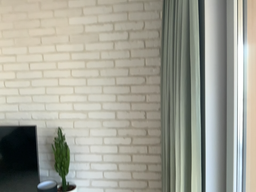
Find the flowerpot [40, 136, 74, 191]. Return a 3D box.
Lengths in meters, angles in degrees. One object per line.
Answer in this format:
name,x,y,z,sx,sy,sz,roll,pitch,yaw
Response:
flowerpot,-0.640,0.660,1.940,0.220,0.540,0.180,-1,4,2
